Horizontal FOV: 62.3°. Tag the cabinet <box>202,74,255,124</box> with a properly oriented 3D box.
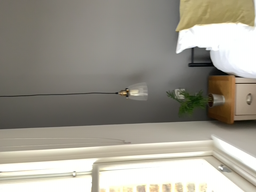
[{"bbox_3d":[0.980,0.000,1.730,0.370,0.600,0.350,-149,57,-80],"label":"cabinet"}]

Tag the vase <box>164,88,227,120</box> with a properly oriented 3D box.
[{"bbox_3d":[0.500,0.050,1.640,0.310,0.360,0.200,-149,57,-80],"label":"vase"}]
